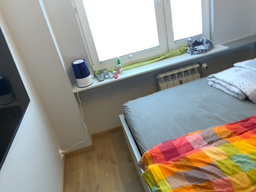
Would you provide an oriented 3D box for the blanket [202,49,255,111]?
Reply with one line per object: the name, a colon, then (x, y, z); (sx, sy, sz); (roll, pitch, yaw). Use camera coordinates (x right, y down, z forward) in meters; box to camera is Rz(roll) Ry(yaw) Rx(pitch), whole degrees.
blanket: (1.230, -0.220, 1.870); (0.920, 0.210, 0.560); (-16, 28, -7)
